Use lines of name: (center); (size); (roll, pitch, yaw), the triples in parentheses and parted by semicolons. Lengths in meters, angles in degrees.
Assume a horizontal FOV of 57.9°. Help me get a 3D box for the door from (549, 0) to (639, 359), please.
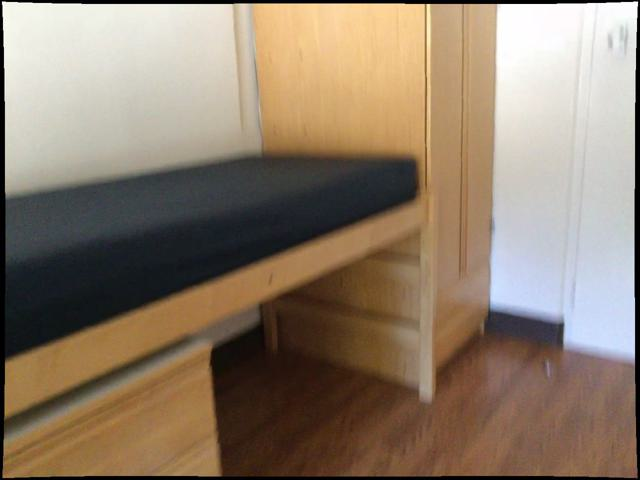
door: (1.578, -0.410, 2.530); (0.959, 2.012, 0.150); (8, 19, 35)
